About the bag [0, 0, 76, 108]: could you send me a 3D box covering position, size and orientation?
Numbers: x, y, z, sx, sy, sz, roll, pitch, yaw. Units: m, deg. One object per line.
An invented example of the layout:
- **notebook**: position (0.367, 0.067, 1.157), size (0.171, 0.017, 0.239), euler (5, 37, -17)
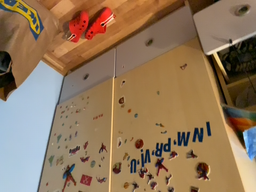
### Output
- **bag**: position (-0.580, -0.330, 0.960), size (0.360, 0.510, 0.500), euler (-21, 139, 26)
